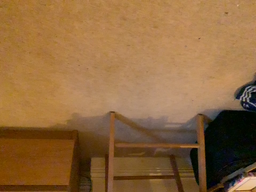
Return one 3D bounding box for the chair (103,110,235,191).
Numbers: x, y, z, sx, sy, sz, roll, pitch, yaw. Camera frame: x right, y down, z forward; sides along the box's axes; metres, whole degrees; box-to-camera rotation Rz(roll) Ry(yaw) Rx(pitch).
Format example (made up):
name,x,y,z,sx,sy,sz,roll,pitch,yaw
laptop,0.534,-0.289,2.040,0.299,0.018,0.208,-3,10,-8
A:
name,x,y,z,sx,sy,sz,roll,pitch,yaw
chair,0.130,0.530,0.930,0.470,0.760,0.520,2,141,-7
